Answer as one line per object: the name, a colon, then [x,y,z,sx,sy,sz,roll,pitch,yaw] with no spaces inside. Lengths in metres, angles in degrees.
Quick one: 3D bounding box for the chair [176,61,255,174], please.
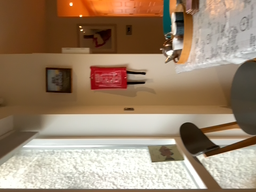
chair: [0.760,0.080,1.280,0.520,0.790,0.540,-92,2,-77]
